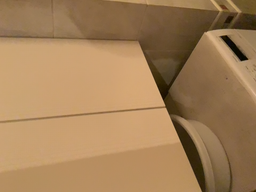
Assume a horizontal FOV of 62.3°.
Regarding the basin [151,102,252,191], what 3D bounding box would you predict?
[{"bbox_3d":[0.280,0.290,0.960,0.380,0.130,0.360,111,148,-48],"label":"basin"}]
